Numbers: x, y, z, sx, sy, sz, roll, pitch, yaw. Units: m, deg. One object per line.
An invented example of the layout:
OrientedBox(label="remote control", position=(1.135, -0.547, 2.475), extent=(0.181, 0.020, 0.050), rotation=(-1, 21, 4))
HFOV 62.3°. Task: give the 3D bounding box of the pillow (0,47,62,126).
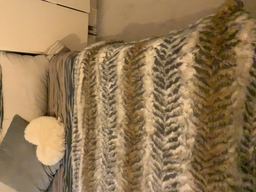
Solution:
OrientedBox(label="pillow", position=(-0.890, -0.080, 1.750), extent=(0.190, 0.410, 0.480), rotation=(8, 52, 49))

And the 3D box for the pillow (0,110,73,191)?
OrientedBox(label="pillow", position=(-0.860, 0.520, 1.720), extent=(0.620, 0.560, 0.280), rotation=(-23, 20, -8))

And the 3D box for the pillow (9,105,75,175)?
OrientedBox(label="pillow", position=(-0.640, 0.330, 1.650), extent=(0.170, 0.310, 0.400), rotation=(-24, 27, 22))
